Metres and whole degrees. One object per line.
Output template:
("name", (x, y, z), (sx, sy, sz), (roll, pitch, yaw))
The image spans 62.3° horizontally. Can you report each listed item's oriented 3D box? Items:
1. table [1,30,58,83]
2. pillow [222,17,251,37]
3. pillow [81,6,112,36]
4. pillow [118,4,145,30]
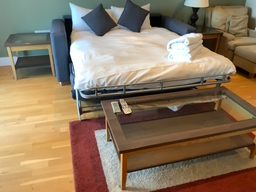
("table", (-1.390, -0.610, 3.140), (0.610, 0.540, 0.660), (-6, 31, -14))
("pillow", (1.930, -1.230, 3.790), (0.390, 0.310, 0.150), (-5, 30, -11))
("pillow", (-0.440, -1.050, 2.990), (0.390, 0.370, 0.130), (-7, 54, -12))
("pillow", (0.040, -1.180, 3.160), (0.360, 0.320, 0.180), (-5, 38, -11))
